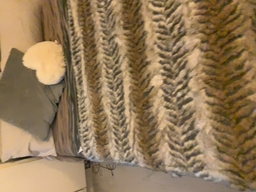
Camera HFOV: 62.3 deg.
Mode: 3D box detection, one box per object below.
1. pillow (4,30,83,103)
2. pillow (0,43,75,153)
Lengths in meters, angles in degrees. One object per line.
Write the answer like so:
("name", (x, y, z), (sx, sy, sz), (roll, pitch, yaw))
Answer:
("pillow", (-0.620, -0.220, 1.620), (0.410, 0.350, 0.180), (33, 155, -2))
("pillow", (-0.780, 0.020, 1.640), (0.240, 0.590, 0.570), (24, 147, 25))
